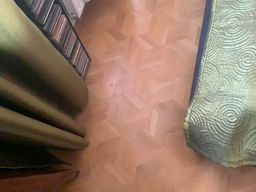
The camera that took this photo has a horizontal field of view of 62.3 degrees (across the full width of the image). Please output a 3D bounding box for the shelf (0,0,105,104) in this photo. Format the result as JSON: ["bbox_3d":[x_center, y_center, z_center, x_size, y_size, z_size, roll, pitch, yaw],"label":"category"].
[{"bbox_3d":[-0.330,-0.270,0.940,0.210,0.890,0.360,15,75,8],"label":"shelf"}]
